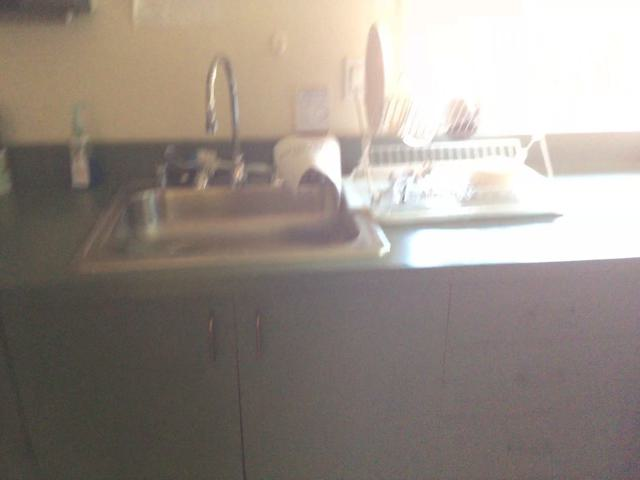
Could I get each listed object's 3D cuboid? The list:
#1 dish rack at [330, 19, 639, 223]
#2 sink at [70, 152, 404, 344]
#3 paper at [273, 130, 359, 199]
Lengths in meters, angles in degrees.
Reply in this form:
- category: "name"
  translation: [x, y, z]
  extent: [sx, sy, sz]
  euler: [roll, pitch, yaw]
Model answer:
- category: "dish rack"
  translation: [0.340, -0.300, 1.410]
  extent: [0.570, 0.410, 0.420]
  euler: [0, 19, -6]
- category: "sink"
  translation: [-0.170, -0.020, 1.320]
  extent: [0.580, 0.250, 0.570]
  euler: [0, 19, -6]
- category: "paper"
  translation: [-0.020, -0.200, 1.480]
  extent: [0.190, 0.120, 0.280]
  euler: [0, 19, -6]
